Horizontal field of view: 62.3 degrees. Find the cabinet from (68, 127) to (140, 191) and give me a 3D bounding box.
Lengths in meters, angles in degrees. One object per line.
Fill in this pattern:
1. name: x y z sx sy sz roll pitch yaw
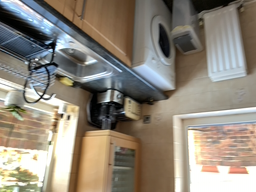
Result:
1. cabinet: -0.190 0.810 1.880 0.330 0.950 0.600 -9 158 30
